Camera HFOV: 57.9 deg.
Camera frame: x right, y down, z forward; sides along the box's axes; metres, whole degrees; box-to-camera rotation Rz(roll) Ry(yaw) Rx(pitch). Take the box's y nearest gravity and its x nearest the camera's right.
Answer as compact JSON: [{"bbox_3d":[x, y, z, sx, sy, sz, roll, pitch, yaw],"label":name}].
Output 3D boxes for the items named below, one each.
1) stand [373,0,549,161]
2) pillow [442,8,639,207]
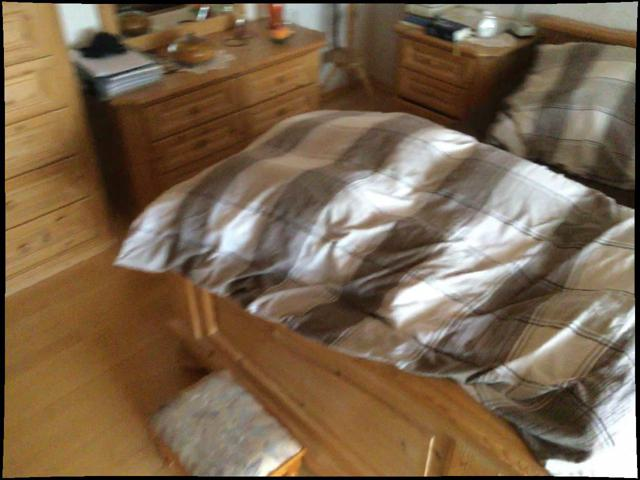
[{"bbox_3d":[0.669,-0.861,2.910,0.470,0.590,0.650,-30,46,-30],"label":"stand"},{"bbox_3d":[1.039,-0.561,2.190,0.780,0.270,0.790,-30,46,-30],"label":"pillow"}]
